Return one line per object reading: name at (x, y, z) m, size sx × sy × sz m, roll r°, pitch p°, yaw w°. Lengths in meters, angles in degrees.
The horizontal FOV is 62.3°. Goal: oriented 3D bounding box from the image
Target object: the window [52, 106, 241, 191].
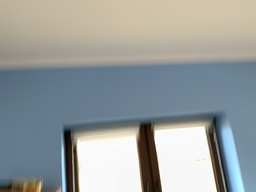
window at (0.190, 0.720, 1.800) m, size 1.530 × 1.140 × 0.170 m, roll -4°, pitch -13°, yaw -11°
